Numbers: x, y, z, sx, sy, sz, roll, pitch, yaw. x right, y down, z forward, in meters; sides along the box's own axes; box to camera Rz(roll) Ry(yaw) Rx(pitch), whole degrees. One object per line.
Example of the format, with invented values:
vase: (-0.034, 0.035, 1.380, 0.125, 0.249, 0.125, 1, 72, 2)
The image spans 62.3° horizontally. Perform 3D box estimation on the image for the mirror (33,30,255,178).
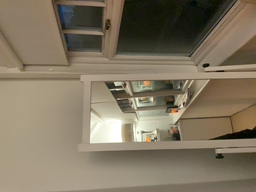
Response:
mirror: (0.580, 0.060, 1.190, 0.420, 1.950, 0.610, 117, 152, -72)
